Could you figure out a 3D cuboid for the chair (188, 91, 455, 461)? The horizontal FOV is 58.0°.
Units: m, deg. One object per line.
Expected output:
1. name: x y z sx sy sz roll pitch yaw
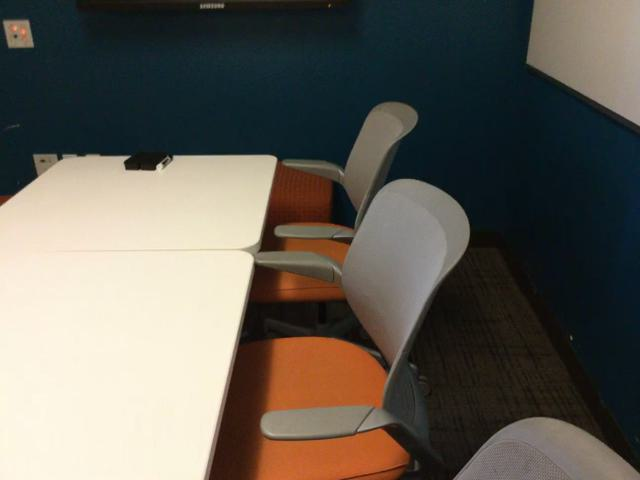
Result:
1. chair: -0.060 0.070 1.840 0.640 0.950 0.630 -3 26 -11
